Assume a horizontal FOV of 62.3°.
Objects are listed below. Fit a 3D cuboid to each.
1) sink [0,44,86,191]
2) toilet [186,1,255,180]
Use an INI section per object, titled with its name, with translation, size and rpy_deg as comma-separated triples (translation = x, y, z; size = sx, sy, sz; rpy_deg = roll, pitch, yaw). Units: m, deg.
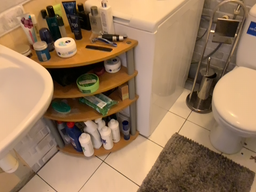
[sink]
translation = -0.490, 0.100, 0.650
size = 0.430, 0.170, 0.550
rpy_deg = 26, 53, 24
[toilet]
translation = 0.710, -0.040, 1.220
size = 0.360, 0.750, 0.670
rpy_deg = 27, 54, 25
